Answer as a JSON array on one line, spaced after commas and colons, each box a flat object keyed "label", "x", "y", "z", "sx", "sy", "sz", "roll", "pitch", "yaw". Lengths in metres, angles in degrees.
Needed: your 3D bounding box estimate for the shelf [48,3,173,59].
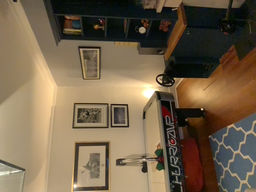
[{"label": "shelf", "x": -0.220, "y": -0.800, "z": 2.750, "sx": 0.610, "sy": 1.420, "sz": 0.320, "roll": 110, "pitch": 158, "yaw": -67}]
